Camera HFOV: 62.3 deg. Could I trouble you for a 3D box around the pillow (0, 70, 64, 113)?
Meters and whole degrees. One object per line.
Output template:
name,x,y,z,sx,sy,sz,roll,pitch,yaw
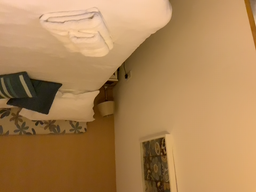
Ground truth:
pillow,-1.050,-0.020,2.090,0.730,0.250,0.550,3,162,-23

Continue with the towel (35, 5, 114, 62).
towel,-0.290,-0.350,1.270,0.350,0.110,0.380,-5,164,3

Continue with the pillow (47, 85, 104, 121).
pillow,-0.650,0.110,2.550,0.590,0.300,0.490,2,163,-21
